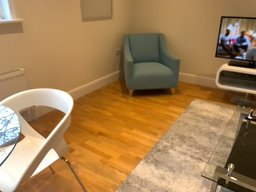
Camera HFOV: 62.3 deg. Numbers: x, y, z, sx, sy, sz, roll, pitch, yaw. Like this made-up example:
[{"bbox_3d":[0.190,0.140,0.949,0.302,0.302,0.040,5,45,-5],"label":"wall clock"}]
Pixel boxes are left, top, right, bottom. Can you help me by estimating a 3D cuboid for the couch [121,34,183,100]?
[{"bbox_3d":[0.320,-0.500,3.370,0.780,0.820,0.790,-3,24,-6],"label":"couch"}]
